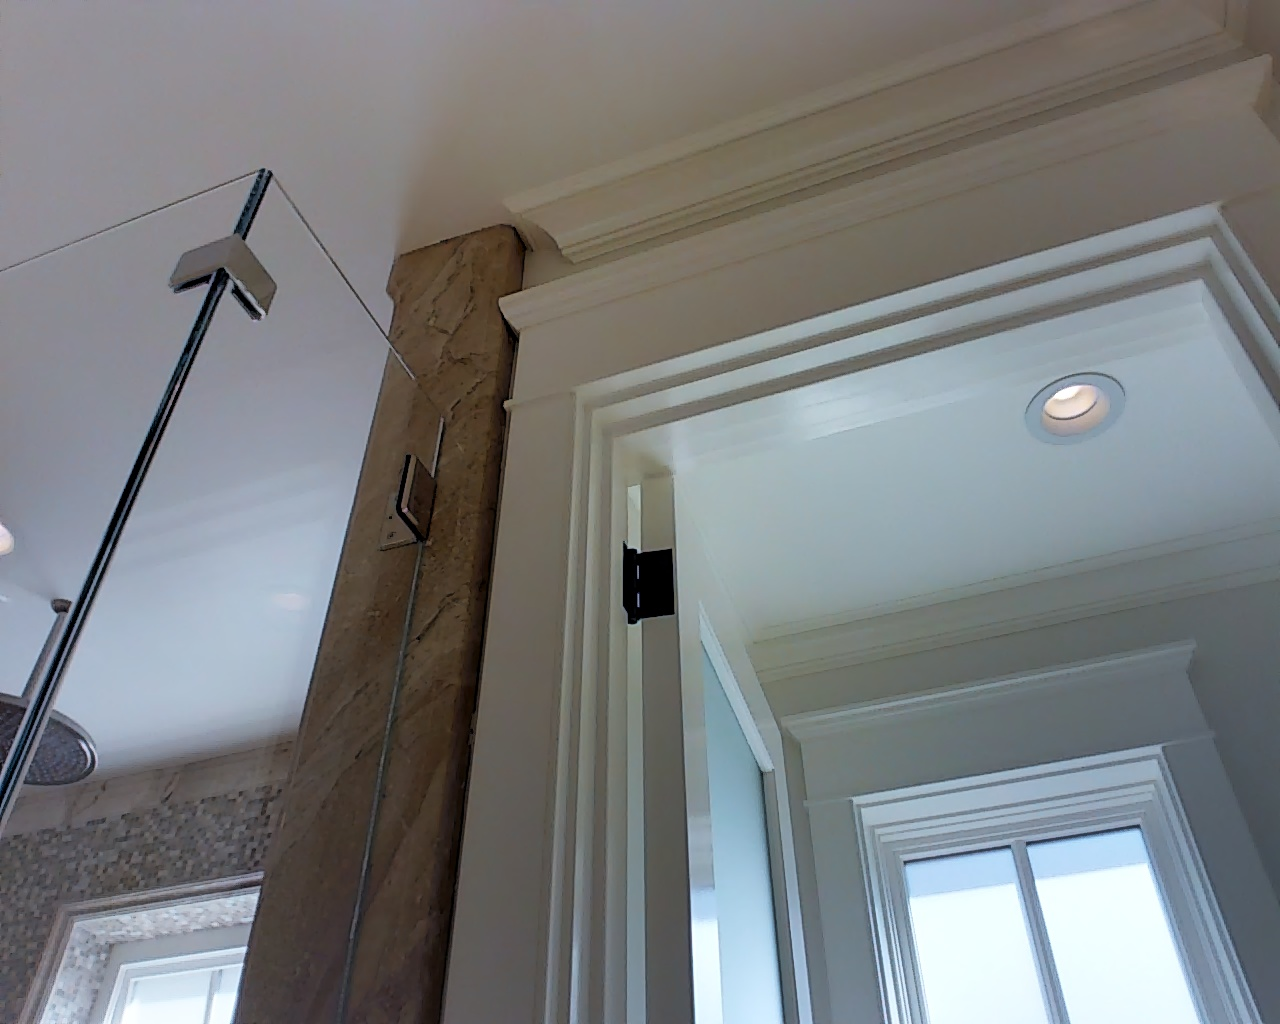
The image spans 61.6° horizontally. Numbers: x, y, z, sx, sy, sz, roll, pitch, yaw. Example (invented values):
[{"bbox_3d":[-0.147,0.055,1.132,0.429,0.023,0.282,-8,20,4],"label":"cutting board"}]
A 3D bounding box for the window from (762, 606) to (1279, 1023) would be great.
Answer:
[{"bbox_3d":[0.720,0.951,1.730,0.900,1.571,0.250,-15,-45,16],"label":"window"}]
